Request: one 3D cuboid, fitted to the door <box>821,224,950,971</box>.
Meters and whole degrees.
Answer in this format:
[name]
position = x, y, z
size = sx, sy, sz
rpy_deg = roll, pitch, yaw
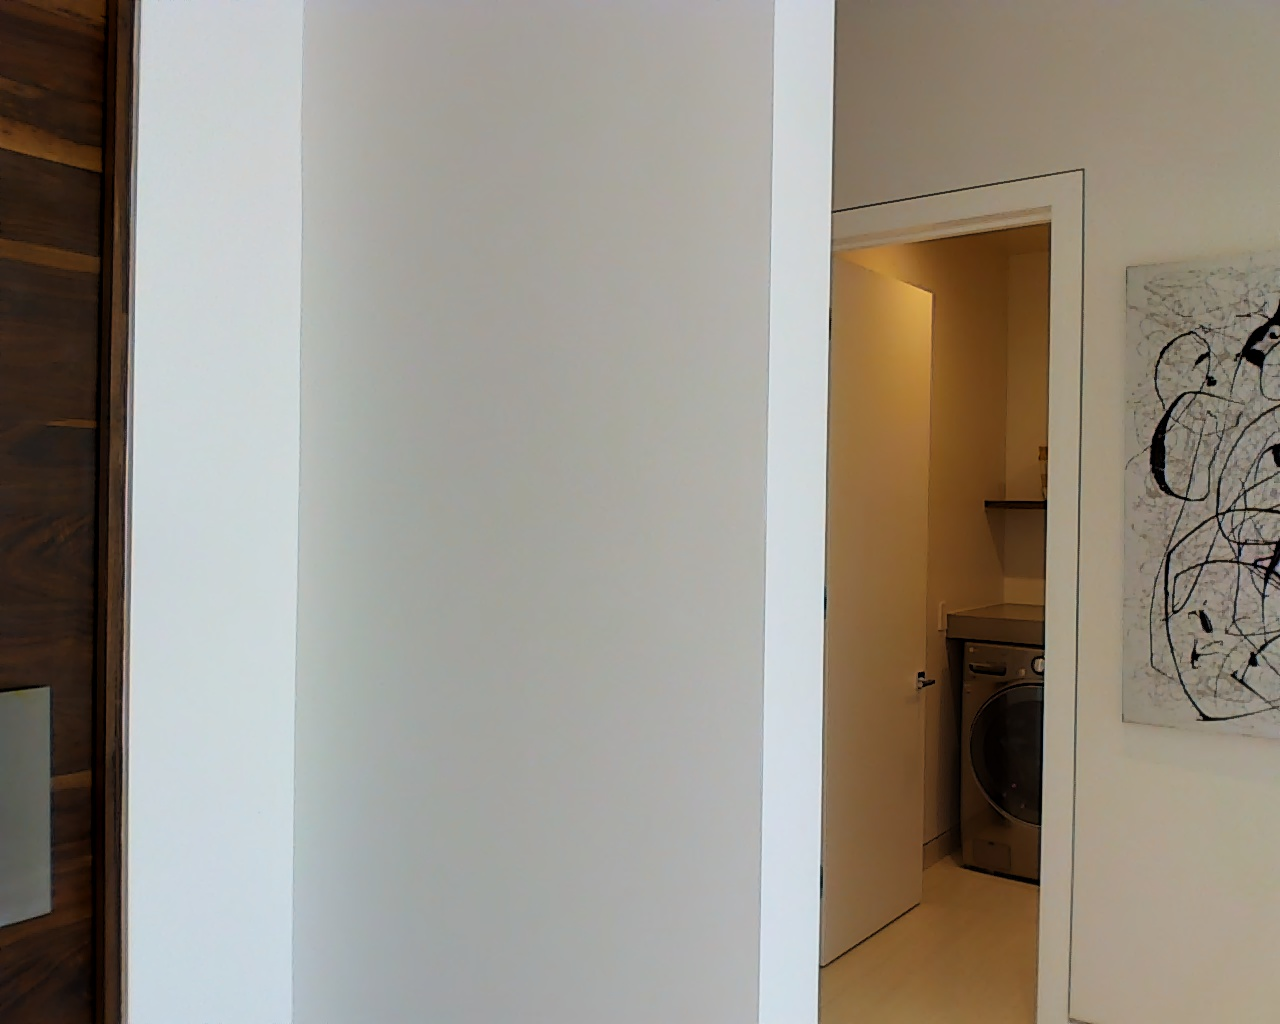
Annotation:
[door]
position = 0.920, 0.290, 3.960
size = 0.040, 2.510, 0.860
rpy_deg = 1, 1, 40
